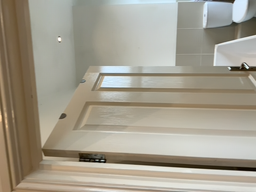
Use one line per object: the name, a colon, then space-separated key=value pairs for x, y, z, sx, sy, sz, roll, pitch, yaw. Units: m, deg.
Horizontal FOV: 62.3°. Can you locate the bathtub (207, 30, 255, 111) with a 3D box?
bathtub: x=1.500 y=-0.340 z=2.580 sx=1.730 sy=0.560 sz=0.710 roll=-55 pitch=-35 yaw=-79

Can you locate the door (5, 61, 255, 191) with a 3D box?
door: x=0.620 y=0.050 z=1.010 sx=0.940 sy=1.980 sz=0.060 roll=-79 pitch=-12 yaw=-57

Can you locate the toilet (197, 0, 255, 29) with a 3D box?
toilet: x=1.450 y=-1.180 z=2.970 sx=0.660 sy=0.780 sz=0.390 roll=-62 pitch=-28 yaw=-76
